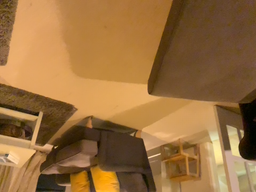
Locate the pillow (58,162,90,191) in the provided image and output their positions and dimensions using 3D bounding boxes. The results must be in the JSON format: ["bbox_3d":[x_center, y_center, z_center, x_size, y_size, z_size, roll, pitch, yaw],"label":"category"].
[{"bbox_3d":[-0.840,1.340,3.250,0.230,0.400,0.510,22,180,-32],"label":"pillow"}]

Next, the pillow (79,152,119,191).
[{"bbox_3d":[-0.380,1.020,2.670,0.230,0.440,0.460,22,178,-27],"label":"pillow"}]
